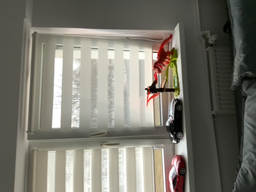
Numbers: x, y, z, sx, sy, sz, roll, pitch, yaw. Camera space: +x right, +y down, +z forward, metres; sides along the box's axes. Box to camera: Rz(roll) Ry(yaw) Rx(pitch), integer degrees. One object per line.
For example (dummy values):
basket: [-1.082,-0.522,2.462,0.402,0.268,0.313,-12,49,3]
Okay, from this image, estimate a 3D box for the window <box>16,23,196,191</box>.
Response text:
window: [-0.140,0.300,1.580,0.230,1.180,1.670,118,151,-77]
